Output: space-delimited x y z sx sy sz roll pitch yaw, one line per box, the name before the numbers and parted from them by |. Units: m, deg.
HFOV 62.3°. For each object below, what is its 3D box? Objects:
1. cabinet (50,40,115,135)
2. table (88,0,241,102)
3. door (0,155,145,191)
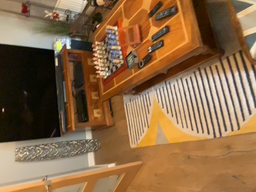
cabinet | -0.690 -0.090 3.070 0.580 0.630 1.170 -28 67 52
table | 0.160 -0.510 1.960 1.340 0.480 0.820 -26 68 53
door | -0.820 0.990 2.090 0.760 2.040 0.110 -61 43 35
